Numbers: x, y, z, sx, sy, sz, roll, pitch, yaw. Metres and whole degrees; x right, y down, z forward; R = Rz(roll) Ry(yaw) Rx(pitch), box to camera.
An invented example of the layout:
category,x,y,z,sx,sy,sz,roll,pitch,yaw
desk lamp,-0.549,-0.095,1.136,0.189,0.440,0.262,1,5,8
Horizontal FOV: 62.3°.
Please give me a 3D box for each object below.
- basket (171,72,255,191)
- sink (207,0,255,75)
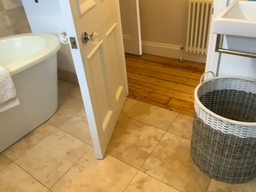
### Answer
category,x,y,z,sx,sy,sz,roll,pitch,yaw
basket,0.600,0.200,1.290,0.510,0.450,0.430,18,41,31
sink,0.670,-0.260,0.910,0.500,0.190,0.430,17,41,30
